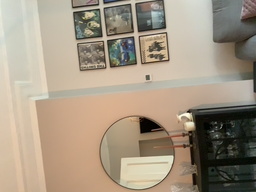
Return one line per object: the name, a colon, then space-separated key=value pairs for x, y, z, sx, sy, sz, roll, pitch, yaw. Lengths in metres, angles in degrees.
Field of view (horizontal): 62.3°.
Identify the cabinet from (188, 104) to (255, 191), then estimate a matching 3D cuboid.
cabinet: x=1.220 y=0.580 z=2.010 sx=0.330 sy=1.150 sz=0.980 roll=-14 pitch=-81 yaw=-85
